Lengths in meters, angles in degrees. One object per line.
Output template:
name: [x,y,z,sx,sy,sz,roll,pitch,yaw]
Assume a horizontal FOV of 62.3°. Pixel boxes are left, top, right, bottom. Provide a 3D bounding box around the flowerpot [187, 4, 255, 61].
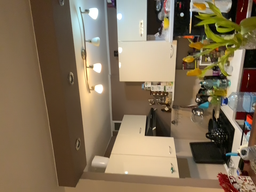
flowerpot: [0.630,-0.380,1.260,0.370,0.470,0.280,-70,-20,-69]
